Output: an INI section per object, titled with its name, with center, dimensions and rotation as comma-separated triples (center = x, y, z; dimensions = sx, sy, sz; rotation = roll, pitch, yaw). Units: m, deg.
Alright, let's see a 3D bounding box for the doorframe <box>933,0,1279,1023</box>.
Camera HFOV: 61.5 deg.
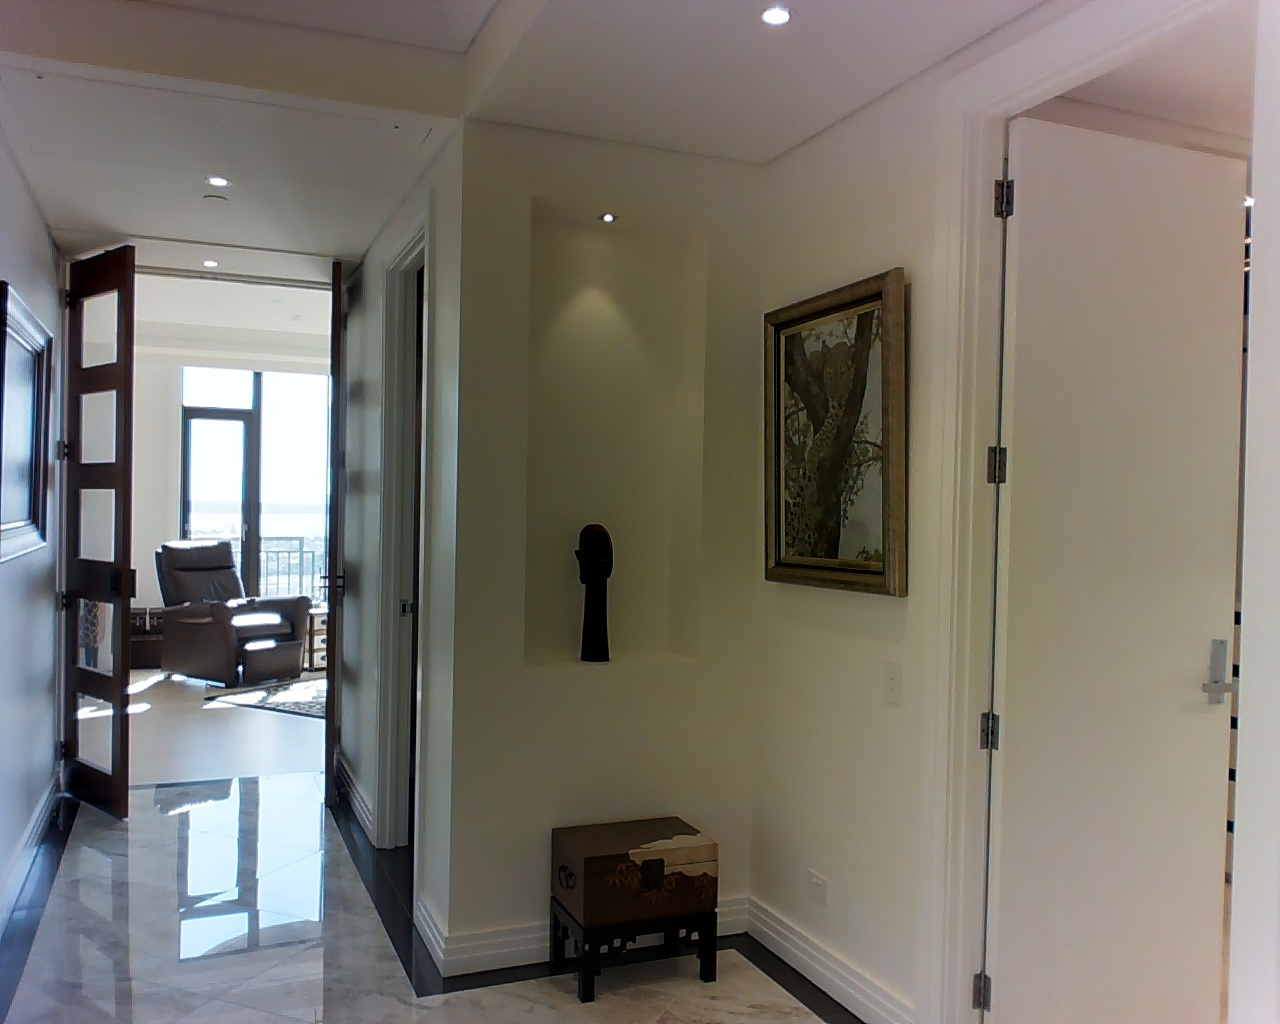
[doorframe]
center = 0.960, 0.150, 2.270
dimensions = 0.150, 2.381, 0.810
rotation = 1, 1, -22
